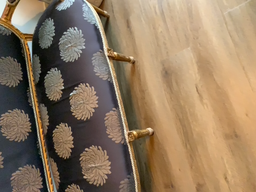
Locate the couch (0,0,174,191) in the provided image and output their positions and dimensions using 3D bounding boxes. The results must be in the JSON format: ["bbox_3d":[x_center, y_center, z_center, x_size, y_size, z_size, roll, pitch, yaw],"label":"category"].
[{"bbox_3d":[-0.470,0.100,1.270,0.810,1.000,1.620,-21,77,34],"label":"couch"}]
